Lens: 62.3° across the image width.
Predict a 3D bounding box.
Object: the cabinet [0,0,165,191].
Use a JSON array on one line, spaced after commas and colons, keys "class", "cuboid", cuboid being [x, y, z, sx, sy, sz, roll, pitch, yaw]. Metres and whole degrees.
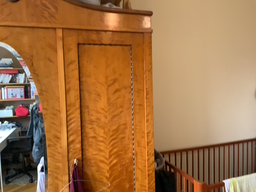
[{"class": "cabinet", "cuboid": [-0.750, 0.410, 1.410, 1.840, 2.160, 0.690, -3, 3, -19]}]
